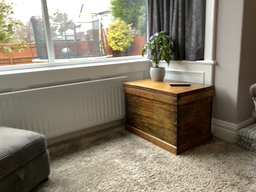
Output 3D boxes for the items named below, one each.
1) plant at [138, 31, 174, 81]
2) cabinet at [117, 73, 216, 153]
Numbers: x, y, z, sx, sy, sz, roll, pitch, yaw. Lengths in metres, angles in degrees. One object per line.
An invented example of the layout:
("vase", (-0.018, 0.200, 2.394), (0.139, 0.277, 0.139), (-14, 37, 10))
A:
("plant", (0.340, -0.490, 2.590), (0.260, 0.550, 0.350), (-12, 17, -35))
("cabinet", (0.390, 0.110, 2.410), (0.580, 0.600, 0.930), (-12, 17, -35))
